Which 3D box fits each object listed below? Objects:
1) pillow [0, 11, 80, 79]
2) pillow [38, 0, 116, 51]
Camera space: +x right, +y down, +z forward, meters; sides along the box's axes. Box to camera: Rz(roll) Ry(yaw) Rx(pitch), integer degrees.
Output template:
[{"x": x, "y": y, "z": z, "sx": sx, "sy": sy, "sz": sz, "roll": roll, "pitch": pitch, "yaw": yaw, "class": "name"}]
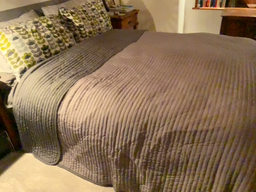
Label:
[{"x": -0.830, "y": -0.470, "z": 1.790, "sx": 0.460, "sy": 0.330, "sz": 0.670, "roll": 13, "pitch": 35, "yaw": 26, "class": "pillow"}, {"x": -0.510, "y": -0.820, "z": 2.310, "sx": 0.450, "sy": 0.420, "sz": 0.650, "roll": 12, "pitch": 35, "yaw": 24, "class": "pillow"}]
